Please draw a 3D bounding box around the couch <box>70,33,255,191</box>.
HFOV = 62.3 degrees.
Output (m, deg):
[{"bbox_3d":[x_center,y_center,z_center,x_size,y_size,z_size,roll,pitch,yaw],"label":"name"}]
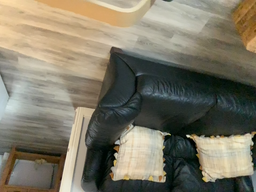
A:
[{"bbox_3d":[0.460,0.380,1.840,1.680,0.930,1.060,11,145,-13],"label":"couch"}]
